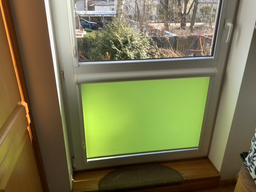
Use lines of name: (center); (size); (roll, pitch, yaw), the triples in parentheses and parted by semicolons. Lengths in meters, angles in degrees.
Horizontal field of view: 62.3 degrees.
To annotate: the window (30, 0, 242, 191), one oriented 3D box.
window: (0.090, -0.510, 1.290); (1.230, 2.470, 0.240); (-7, 25, -16)
